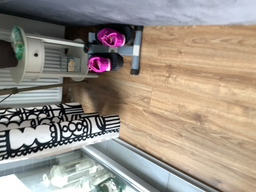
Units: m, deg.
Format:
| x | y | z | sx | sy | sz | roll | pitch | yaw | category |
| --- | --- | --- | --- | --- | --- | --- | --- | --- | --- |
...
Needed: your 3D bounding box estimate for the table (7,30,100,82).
| x | y | z | sx | sy | sz | roll | pitch | yaw | category |
| --- | --- | --- | --- | --- | --- | --- | --- | --- | --- |
| -0.580 | -0.300 | 1.700 | 0.310 | 0.620 | 0.320 | 15 | 102 | 44 | table |
